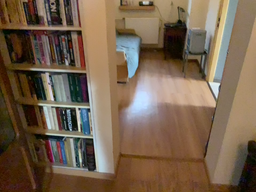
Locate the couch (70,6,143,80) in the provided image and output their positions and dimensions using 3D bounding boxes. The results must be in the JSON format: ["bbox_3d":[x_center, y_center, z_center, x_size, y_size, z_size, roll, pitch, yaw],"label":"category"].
[{"bbox_3d":[-0.240,-1.190,4.210,1.040,0.910,2.200,2,28,3],"label":"couch"}]

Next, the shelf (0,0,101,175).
[{"bbox_3d":[-0.560,-0.240,1.430,0.630,1.960,0.110,4,28,6],"label":"shelf"}]
